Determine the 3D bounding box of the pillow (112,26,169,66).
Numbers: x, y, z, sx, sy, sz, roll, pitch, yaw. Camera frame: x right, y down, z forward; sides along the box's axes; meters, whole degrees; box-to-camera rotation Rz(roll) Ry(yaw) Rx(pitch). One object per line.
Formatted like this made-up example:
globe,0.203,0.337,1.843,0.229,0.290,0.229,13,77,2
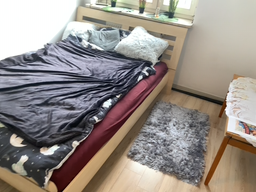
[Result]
pillow,0.160,-0.630,2.600,0.520,0.260,0.490,19,33,19

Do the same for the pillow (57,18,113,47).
pillow,-0.560,-0.860,2.830,0.530,0.180,0.490,18,33,17
